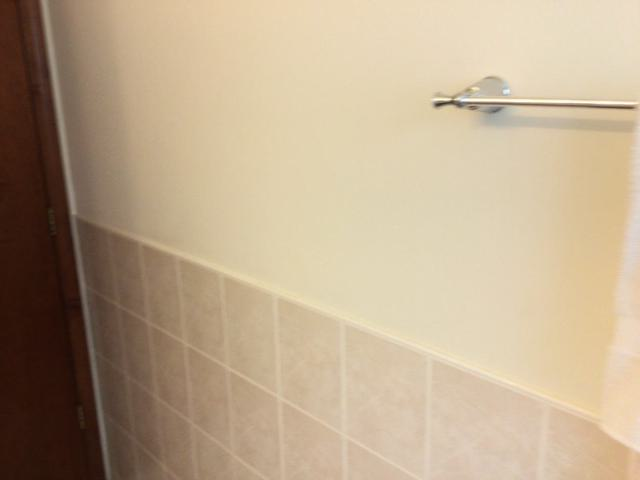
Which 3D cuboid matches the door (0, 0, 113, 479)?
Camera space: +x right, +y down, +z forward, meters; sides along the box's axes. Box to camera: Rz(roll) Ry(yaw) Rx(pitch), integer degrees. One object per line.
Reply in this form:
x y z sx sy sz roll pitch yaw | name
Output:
-1.110 0.030 1.630 0.070 2.110 0.850 16 23 41 | door
